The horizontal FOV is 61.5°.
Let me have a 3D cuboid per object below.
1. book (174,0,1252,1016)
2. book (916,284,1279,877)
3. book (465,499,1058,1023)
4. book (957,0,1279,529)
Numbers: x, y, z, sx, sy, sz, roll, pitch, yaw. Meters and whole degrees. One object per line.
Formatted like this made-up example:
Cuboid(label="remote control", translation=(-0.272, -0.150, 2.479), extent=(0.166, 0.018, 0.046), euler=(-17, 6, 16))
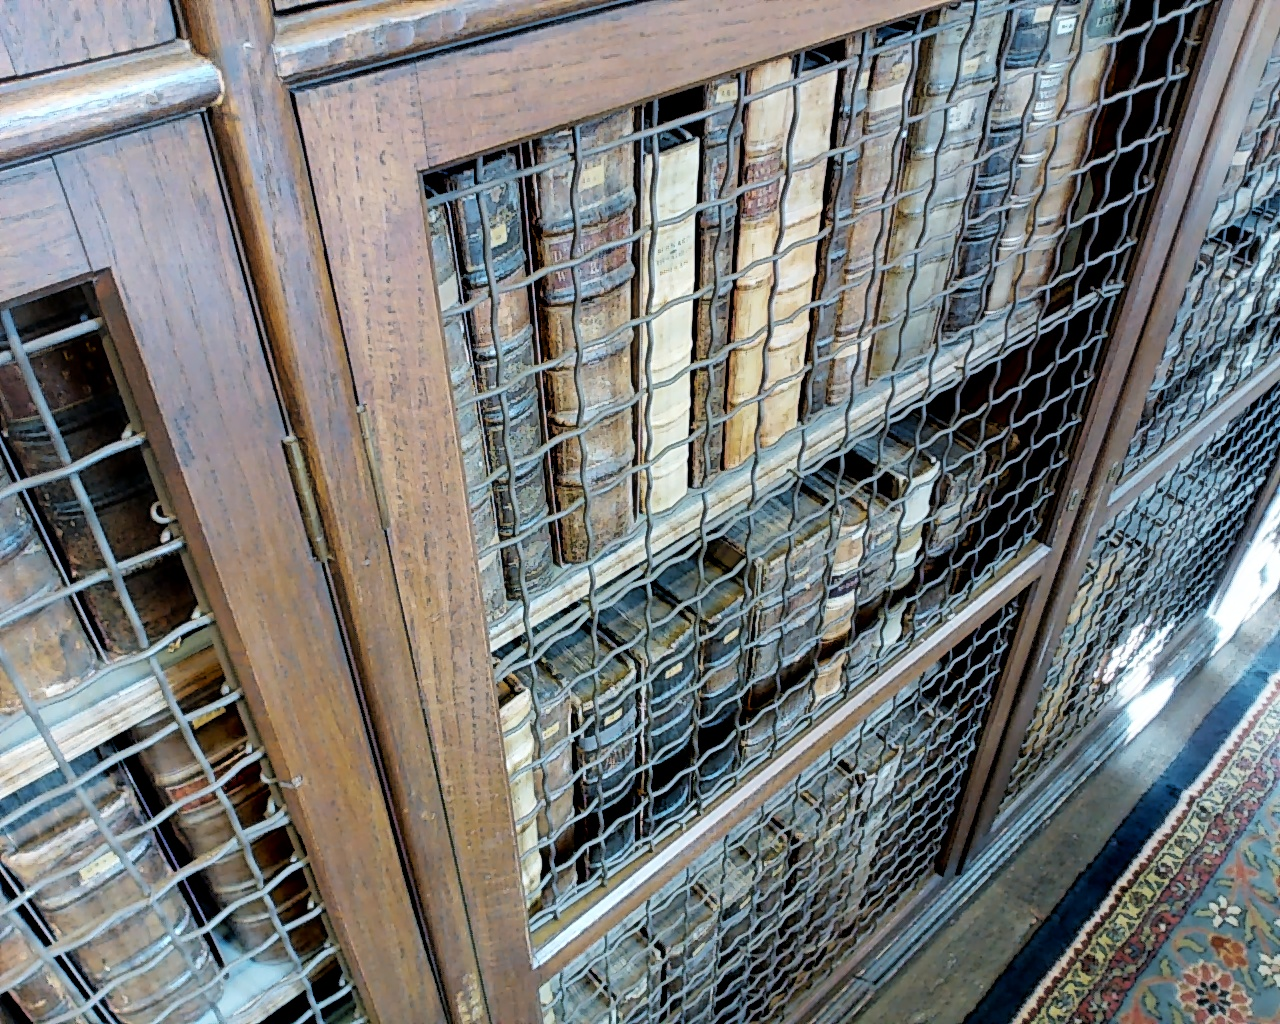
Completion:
Cuboid(label="book", translation=(0.120, -0.080, 0.800), extent=(0.690, 0.660, 0.190), euler=(-31, 49, -31))
Cuboid(label="book", translation=(0.770, 0.100, 1.660), extent=(0.690, 0.660, 0.210), euler=(-32, 50, -31))
Cuboid(label="book", translation=(0.150, 0.400, 1.240), extent=(0.640, 0.600, 0.190), euler=(-31, 49, -31))
Cuboid(label="book", translation=(0.730, -0.430, 1.260), extent=(0.690, 0.660, 0.210), euler=(-30, 48, -29))
